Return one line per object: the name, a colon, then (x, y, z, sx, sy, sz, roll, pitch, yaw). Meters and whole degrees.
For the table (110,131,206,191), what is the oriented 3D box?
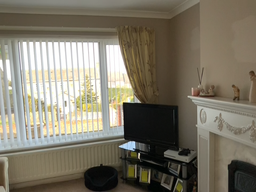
table: (0.400, 0.900, 2.890, 1.080, 0.540, 0.680, 3, 8, 38)
